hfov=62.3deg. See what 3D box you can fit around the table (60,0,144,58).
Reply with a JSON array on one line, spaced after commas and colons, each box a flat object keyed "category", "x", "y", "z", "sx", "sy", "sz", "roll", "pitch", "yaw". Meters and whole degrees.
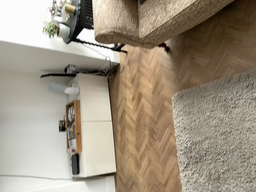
[{"category": "table", "x": -0.290, "y": -0.770, "z": 2.280, "sx": 0.470, "sy": 0.730, "sz": 0.460, "roll": -25, "pitch": 67, "yaw": 52}]
